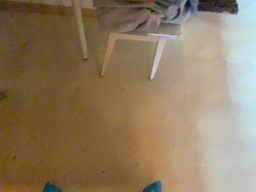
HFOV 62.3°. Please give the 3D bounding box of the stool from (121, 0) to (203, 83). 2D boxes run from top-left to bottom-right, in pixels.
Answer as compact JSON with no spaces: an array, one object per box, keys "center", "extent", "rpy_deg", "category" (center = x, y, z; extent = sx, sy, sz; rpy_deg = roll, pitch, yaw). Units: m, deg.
[{"center":[0.110,-0.300,1.010],"extent":[0.230,0.550,0.290],"rpy_deg":[3,72,-7],"category":"stool"}]
